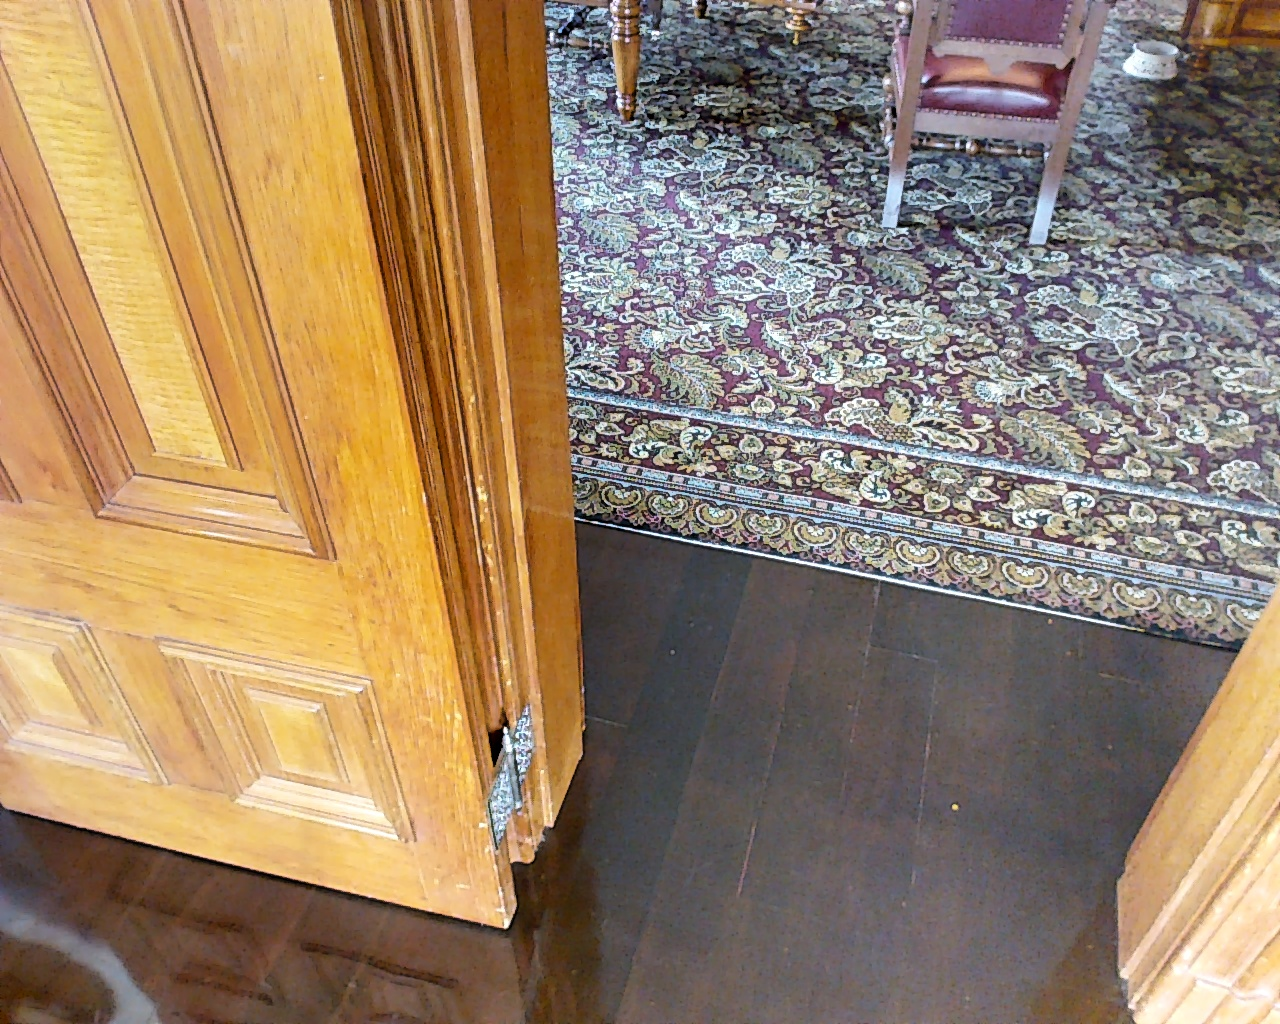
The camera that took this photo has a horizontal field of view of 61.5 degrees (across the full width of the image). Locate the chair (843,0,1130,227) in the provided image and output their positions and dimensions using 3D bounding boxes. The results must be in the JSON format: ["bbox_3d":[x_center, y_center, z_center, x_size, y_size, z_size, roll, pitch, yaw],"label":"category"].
[{"bbox_3d":[1.030,-1.610,3.030,0.650,1.320,0.690,11,44,12],"label":"chair"}]
